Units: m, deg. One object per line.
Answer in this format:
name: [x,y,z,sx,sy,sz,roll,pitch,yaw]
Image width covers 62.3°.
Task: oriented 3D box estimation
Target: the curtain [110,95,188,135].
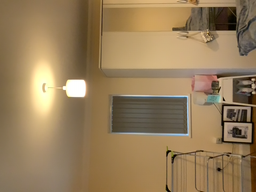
curtain: [0.340,0.300,3.420,0.010,1.240,0.620,46,-135,-87]
